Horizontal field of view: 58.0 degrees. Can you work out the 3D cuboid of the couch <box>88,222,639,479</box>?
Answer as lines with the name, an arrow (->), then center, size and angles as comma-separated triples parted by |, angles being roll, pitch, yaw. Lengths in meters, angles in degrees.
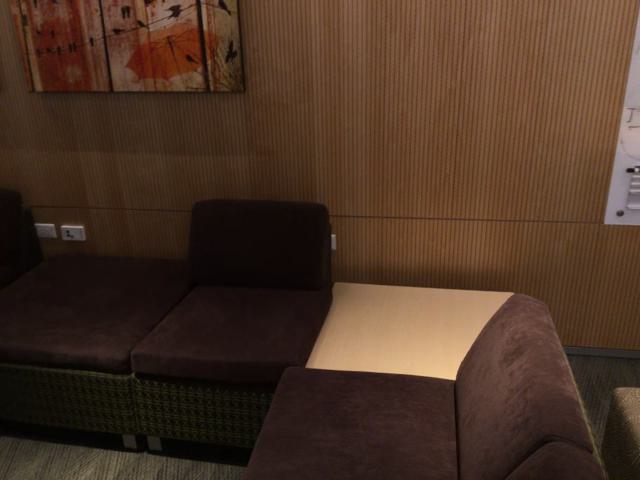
couch -> 0.170, 0.620, 1.350 | 0.930, 0.830, 1.590 | 5, 19, 5

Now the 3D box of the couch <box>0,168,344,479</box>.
couch -> -0.650, 0.270, 2.240 | 1.370, 0.840, 0.840 | 5, 19, 5
